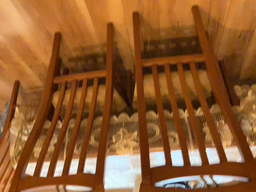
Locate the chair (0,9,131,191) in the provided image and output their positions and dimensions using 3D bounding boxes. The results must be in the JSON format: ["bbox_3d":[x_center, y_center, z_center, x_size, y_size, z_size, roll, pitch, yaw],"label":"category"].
[{"bbox_3d":[-0.240,0.070,1.160,0.410,0.970,0.470,-7,147,10],"label":"chair"}]

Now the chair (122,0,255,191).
[{"bbox_3d":[0.220,0.010,1.070,0.420,0.980,0.480,-5,148,7],"label":"chair"}]
